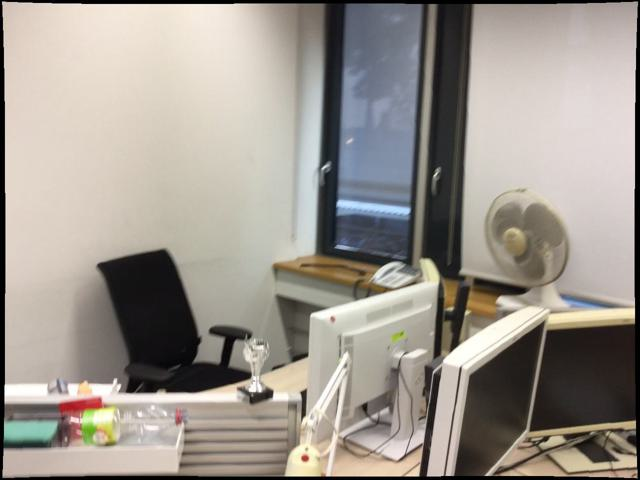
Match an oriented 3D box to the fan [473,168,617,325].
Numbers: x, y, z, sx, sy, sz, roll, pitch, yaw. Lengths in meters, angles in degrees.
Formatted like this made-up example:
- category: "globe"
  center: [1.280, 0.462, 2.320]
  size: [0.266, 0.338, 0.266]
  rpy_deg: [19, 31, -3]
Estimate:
- category: "fan"
  center: [0.949, 0.000, 2.480]
  size: [0.350, 0.571, 0.410]
  rpy_deg: [-7, 14, -32]
